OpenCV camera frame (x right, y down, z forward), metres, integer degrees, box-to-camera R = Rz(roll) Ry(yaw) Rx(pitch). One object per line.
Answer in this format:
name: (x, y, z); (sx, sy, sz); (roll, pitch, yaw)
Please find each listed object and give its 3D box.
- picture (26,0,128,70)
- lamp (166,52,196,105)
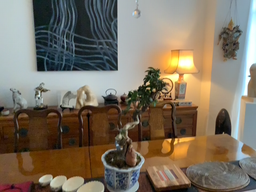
picture: (-0.590, -0.820, 2.680); (1.210, 0.940, 0.080); (-3, 12, -15)
lamp: (0.710, -0.250, 2.870); (0.280, 0.680, 0.230); (-3, 12, -13)
